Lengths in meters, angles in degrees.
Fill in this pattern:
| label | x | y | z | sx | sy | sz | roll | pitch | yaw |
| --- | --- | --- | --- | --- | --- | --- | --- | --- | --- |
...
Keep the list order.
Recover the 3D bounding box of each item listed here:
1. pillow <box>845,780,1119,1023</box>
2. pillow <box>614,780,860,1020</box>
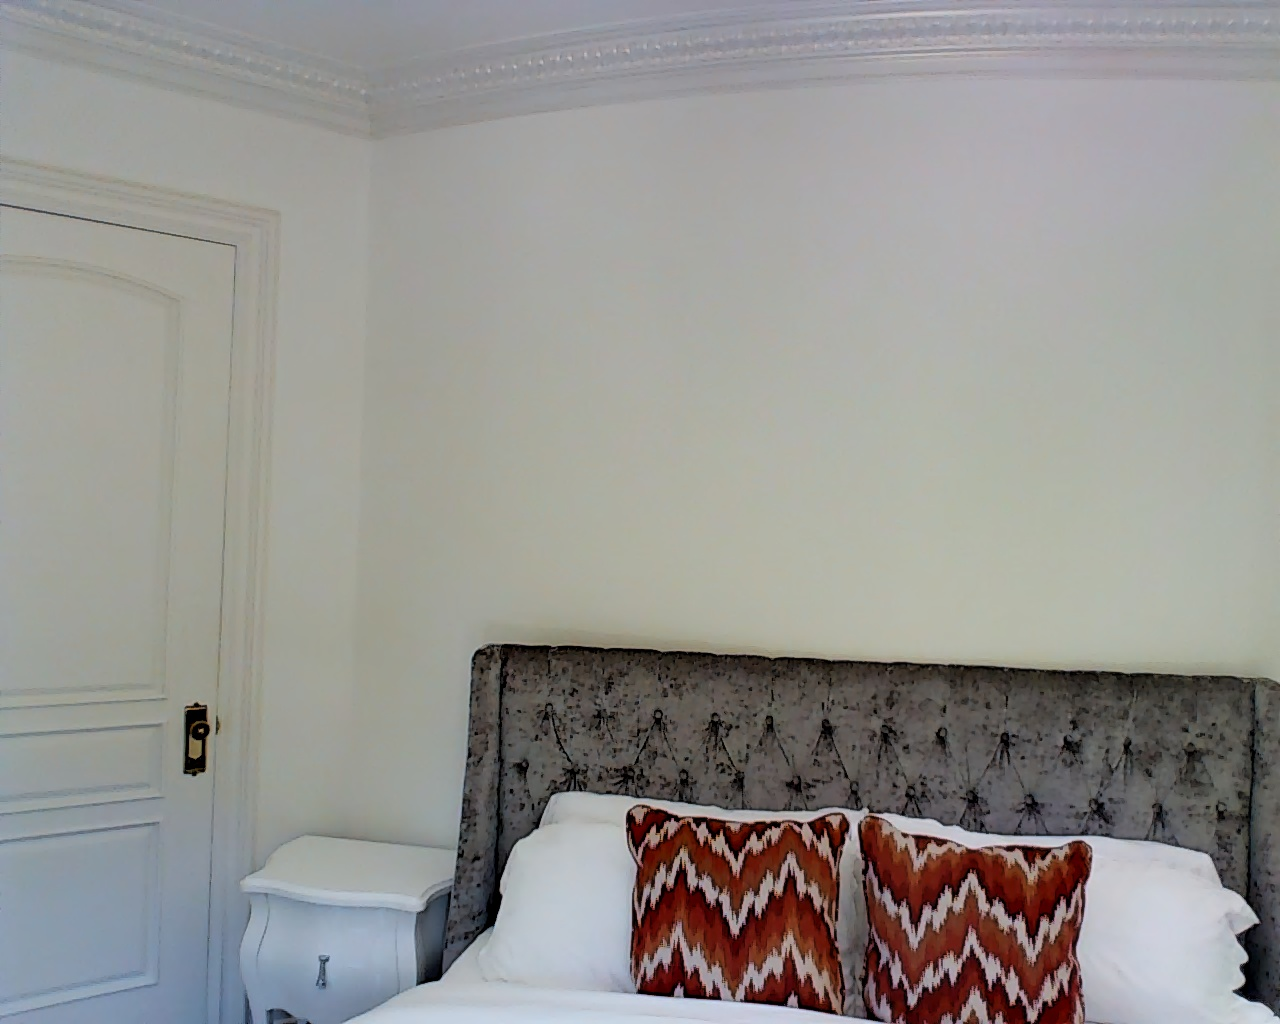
| label | x | y | z | sx | sy | sz | roll | pitch | yaw |
| --- | --- | --- | --- | --- | --- | --- | --- | --- | --- |
| pillow | 0.700 | 0.870 | 2.260 | 0.470 | 0.490 | 0.200 | 7 | 21 | 14 |
| pillow | 0.210 | 0.840 | 2.330 | 0.490 | 0.420 | 0.210 | 4 | 29 | 9 |
